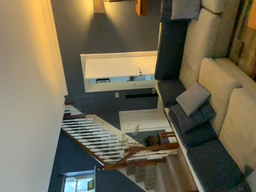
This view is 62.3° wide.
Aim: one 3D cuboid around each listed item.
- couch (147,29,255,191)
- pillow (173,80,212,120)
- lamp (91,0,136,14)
[{"bbox_3d":[0.960,0.300,2.470,3.320,0.760,1.110,-102,11,-54],"label":"couch"},{"bbox_3d":[0.790,0.040,2.660,0.380,0.090,0.380,-45,29,18],"label":"pillow"},{"bbox_3d":[-0.300,-1.900,4.320,0.230,0.880,0.350,-102,11,-55],"label":"lamp"}]
